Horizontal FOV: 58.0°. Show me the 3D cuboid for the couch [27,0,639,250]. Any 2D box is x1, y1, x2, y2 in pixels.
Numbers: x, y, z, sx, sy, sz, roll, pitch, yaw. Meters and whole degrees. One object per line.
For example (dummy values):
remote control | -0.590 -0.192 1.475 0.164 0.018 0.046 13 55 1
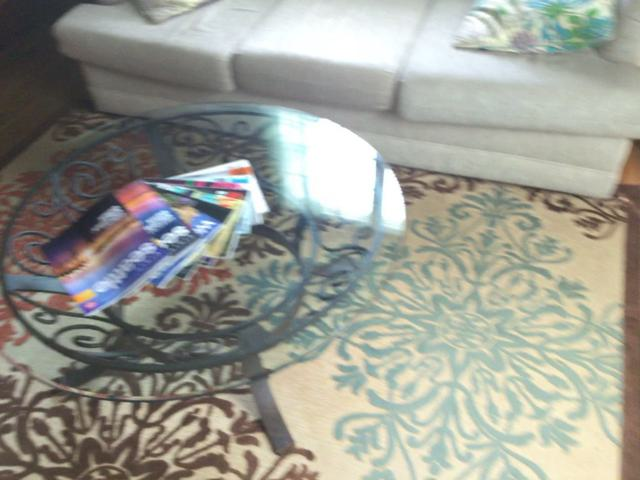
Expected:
couch | 0.070 -0.880 2.150 2.100 1.020 0.900 15 40 16
